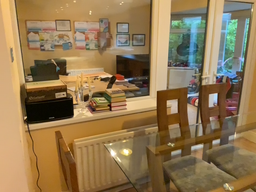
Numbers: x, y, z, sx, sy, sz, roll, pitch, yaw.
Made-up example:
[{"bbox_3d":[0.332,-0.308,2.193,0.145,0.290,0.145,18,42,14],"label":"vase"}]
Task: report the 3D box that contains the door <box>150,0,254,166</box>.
[{"bbox_3d":[0.950,-0.250,2.700,1.440,2.110,0.110,-8,18,-26],"label":"door"}]
